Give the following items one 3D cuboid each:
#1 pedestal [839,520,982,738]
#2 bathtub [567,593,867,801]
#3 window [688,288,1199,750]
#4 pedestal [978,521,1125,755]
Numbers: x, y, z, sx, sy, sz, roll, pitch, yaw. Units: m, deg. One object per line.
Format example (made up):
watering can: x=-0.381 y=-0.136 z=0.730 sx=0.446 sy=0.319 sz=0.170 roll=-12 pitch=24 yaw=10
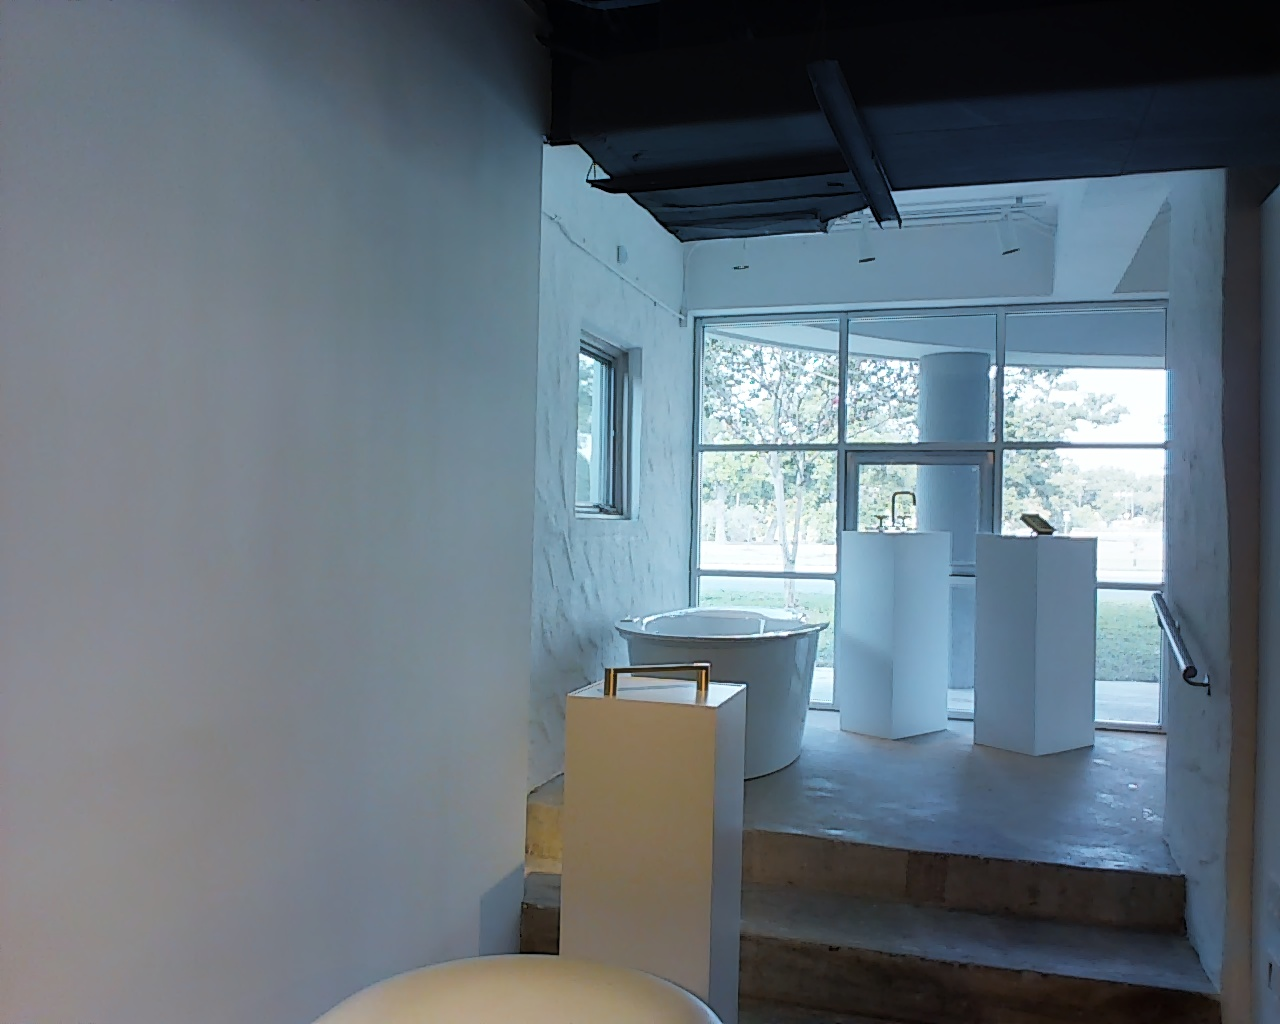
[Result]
pedestal: x=1.470 y=0.600 z=5.820 sx=0.620 sy=1.100 sz=0.460 roll=1 pitch=0 yaw=-41
bathtub: x=0.470 y=0.800 z=5.210 sx=1.030 sy=0.650 sz=1.790 roll=1 pitch=0 yaw=18
window: x=1.670 y=0.010 z=6.260 sx=2.790 sy=2.470 sz=0.170 roll=1 pitch=0 yaw=18
pedestal: x=2.100 y=0.610 z=5.480 sx=0.590 sy=1.110 sz=0.420 roll=1 pitch=0 yaw=-34
